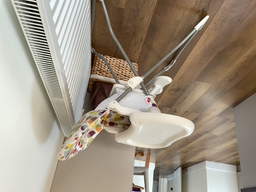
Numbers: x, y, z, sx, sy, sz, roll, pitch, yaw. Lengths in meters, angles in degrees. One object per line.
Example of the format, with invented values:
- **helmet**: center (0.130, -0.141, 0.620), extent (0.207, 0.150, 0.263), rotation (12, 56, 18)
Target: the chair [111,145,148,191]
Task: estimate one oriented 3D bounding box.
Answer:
- **chair**: center (0.060, 1.520, 4.340), extent (0.620, 0.910, 0.400), rotation (1, 152, 12)
